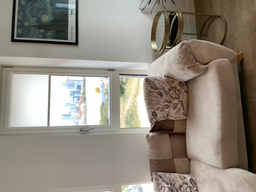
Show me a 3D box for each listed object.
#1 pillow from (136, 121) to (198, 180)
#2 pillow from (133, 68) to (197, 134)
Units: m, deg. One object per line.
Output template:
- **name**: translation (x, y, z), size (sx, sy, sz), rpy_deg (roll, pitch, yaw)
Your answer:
- **pillow**: translation (0.450, 0.620, 2.460), size (0.450, 0.520, 0.210), rpy_deg (-59, 9, -13)
- **pillow**: translation (0.410, 0.060, 2.370), size (0.240, 0.510, 0.560), rpy_deg (174, 116, -78)
